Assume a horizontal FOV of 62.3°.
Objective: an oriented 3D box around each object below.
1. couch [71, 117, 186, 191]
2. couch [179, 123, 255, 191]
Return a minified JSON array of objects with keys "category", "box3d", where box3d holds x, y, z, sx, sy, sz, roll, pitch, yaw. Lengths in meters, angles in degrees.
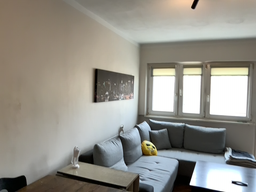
[{"category":"couch","box3d":[0.270,0.960,3.370,0.980,0.890,2.480,3,2,21]},{"category":"couch","box3d":[1.530,1.010,3.720,1.100,0.840,0.920,3,2,21]}]
